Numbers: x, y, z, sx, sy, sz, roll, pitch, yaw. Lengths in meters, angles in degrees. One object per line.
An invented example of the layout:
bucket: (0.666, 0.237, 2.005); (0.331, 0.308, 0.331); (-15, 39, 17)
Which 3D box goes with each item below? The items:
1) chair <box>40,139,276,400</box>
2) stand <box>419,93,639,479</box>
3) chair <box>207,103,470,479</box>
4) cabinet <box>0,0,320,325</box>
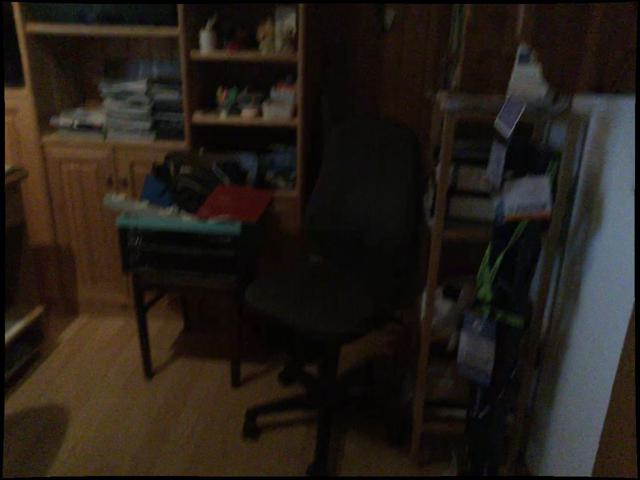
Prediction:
chair: (-0.579, 0.100, 2.410); (0.649, 0.791, 0.690); (3, 33, 5)
stand: (0.490, 0.250, 1.600); (0.280, 1.181, 0.460); (2, 33, 3)
chair: (0.060, 0.160, 1.980); (0.629, 1.021, 0.760); (2, 33, 2)
cabinet: (-0.999, -0.781, 2.560); (1.948, 2.112, 0.960); (2, 33, 2)
